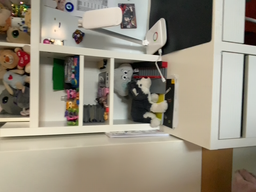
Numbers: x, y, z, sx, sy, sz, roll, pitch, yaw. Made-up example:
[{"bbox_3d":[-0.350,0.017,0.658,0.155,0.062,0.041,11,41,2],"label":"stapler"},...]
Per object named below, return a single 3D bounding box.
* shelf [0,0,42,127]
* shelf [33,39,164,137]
[{"bbox_3d":[-0.560,-0.390,0.960,0.210,0.300,1.030,-170,82,-70],"label":"shelf"},{"bbox_3d":[-0.140,-0.030,0.980,0.280,0.520,0.350,-170,82,-70],"label":"shelf"}]
